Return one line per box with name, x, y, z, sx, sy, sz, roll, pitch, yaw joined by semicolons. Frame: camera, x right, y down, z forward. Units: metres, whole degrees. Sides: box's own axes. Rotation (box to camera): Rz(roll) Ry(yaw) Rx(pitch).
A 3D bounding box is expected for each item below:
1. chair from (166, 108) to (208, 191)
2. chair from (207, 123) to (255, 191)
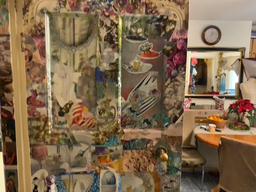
chair;0.810;0.720;3.040;0.420;0.980;0.620;2;8;6
chair;1.160;0.850;2.120;0.580;0.990;0.460;-6;10;-40
